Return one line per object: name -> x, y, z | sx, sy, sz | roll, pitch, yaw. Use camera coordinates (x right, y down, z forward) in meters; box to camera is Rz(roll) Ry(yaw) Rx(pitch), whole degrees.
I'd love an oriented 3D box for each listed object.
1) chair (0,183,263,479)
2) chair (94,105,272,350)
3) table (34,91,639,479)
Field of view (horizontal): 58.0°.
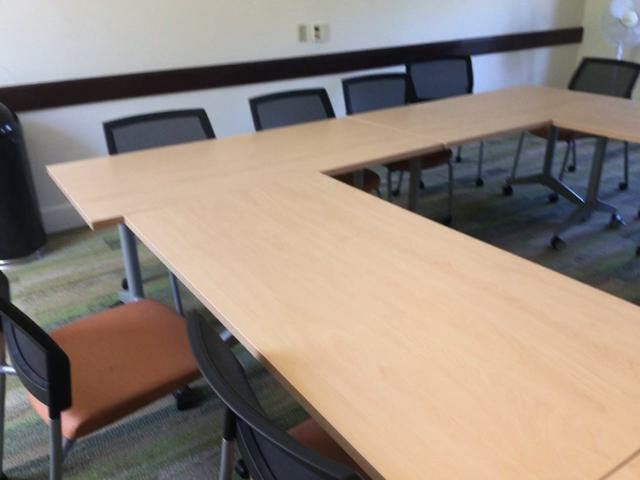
chair -> -0.570, 0.330, 1.540 | 0.620, 0.760, 0.540 | -16, 28, -35
chair -> -0.590, -0.100, 2.520 | 0.490, 0.840, 0.630 | -14, 27, -32
table -> 0.880, 0.330, 1.610 | 2.310, 0.850, 3.720 | -14, 27, -32
